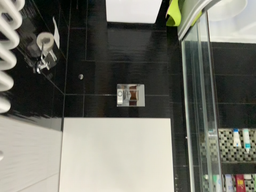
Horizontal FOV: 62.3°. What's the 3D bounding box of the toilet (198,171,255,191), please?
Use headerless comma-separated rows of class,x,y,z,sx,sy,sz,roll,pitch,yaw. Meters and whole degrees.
toilet,0.950,0.720,1.740,0.700,0.180,0.150,2,168,-5
